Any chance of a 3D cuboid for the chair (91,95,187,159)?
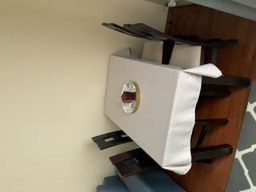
[{"bbox_3d":[0.120,0.300,2.390,0.440,0.940,0.530,25,112,60],"label":"chair"}]
